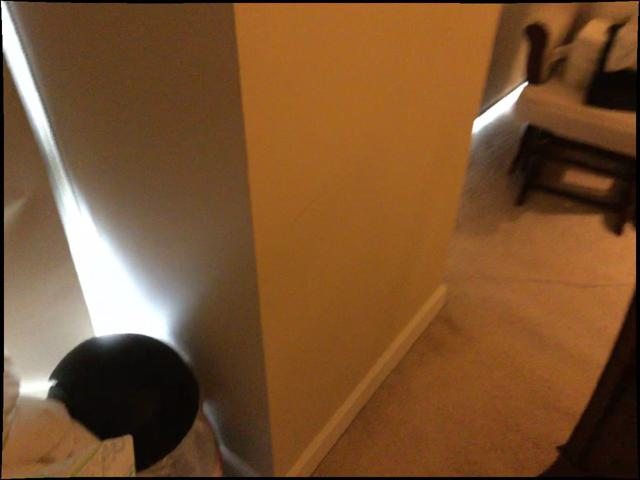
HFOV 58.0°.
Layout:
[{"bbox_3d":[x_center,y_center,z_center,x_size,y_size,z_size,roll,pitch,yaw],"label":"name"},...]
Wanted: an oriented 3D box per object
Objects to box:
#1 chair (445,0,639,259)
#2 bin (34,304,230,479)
[{"bbox_3d":[1.077,-0.672,2.060,0.809,0.961,0.940,22,48,19],"label":"chair"},{"bbox_3d":[-0.349,0.391,1.160,0.289,0.400,0.280,-10,46,-13],"label":"bin"}]
